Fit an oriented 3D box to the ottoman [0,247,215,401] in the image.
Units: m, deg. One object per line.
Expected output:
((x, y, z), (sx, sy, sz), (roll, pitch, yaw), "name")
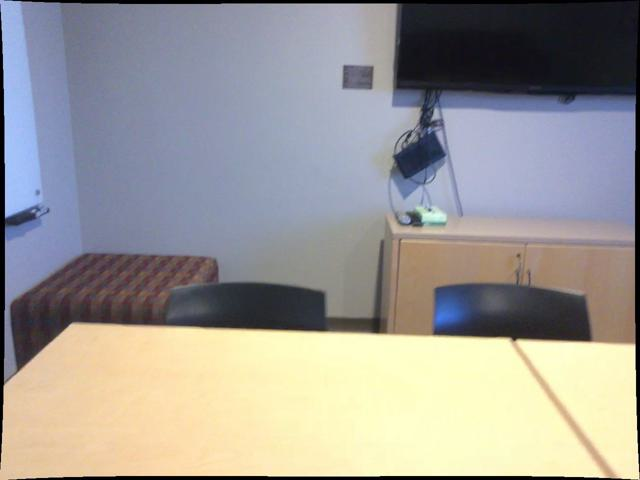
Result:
((-0.968, 0.371, 2.820), (0.769, 0.451, 0.750), (2, 15, 0), "ottoman")

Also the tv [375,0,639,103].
((1.008, -1.112, 2.720), (1.428, 0.861, 0.240), (2, 15, 0), "tv")

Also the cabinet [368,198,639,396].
((0.968, 0.260, 2.900), (1.368, 0.791, 0.570), (2, 15, 0), "cabinet")
